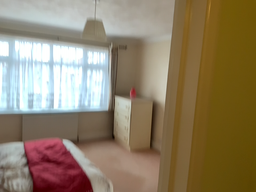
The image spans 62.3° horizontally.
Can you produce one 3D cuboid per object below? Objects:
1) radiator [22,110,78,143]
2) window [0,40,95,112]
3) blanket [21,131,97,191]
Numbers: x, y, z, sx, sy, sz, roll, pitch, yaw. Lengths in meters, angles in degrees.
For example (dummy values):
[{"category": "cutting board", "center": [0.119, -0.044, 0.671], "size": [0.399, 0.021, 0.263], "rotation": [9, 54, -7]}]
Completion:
[{"category": "radiator", "center": [-1.640, 0.630, 4.520], "size": [1.100, 0.630, 0.110], "rotation": [0, 7, -31]}, {"category": "window", "center": [-1.770, -0.360, 4.510], "size": [2.180, 1.390, 0.040], "rotation": [1, 7, -29]}, {"category": "blanket", "center": [-1.000, 0.820, 2.720], "size": [0.580, 0.220, 1.810], "rotation": [1, 7, -29]}]
